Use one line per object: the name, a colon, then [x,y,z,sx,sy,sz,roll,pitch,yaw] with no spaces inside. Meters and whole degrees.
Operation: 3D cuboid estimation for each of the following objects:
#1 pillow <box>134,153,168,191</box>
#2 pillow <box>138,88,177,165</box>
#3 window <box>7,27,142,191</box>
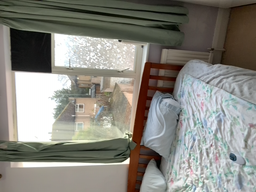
pillow: [0.240,1.120,2.500,0.440,0.190,0.730,-122,36,-68]
pillow: [0.290,0.310,2.270,0.420,0.190,0.690,-122,36,-68]
window: [-0.620,0.440,2.540,0.090,1.360,2.280,-127,40,-70]
